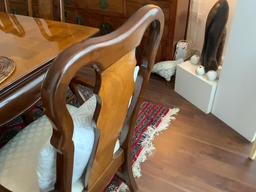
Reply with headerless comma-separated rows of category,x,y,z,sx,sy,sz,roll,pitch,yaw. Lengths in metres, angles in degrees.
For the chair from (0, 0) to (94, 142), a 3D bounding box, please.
chair,-0.720,-0.320,1.500,0.530,1.010,0.640,17,43,24
